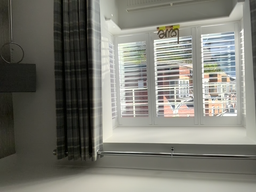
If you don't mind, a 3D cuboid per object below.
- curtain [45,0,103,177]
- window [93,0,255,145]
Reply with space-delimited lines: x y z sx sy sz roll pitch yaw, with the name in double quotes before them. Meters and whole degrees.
"curtain" -0.520 -0.350 2.020 0.430 2.190 0.170 -2 -178 11
"window" 0.560 -0.320 2.650 1.910 1.750 0.350 -2 -178 14
